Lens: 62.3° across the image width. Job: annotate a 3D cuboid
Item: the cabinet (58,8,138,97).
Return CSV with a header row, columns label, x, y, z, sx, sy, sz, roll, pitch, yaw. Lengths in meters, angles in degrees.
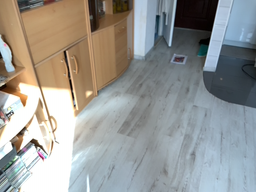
label,x,y,z,sx,sy,sz,roll,pitch,yaw
cabinet,-0.290,-0.610,2.700,0.460,0.710,1.070,14,37,19
